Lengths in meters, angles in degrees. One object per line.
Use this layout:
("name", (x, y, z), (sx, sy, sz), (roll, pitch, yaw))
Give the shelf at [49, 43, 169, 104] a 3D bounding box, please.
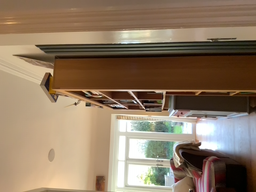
("shelf", (-0.020, -0.150, 2.920), (2.350, 1.000, 0.330), (41, -129, -80))
